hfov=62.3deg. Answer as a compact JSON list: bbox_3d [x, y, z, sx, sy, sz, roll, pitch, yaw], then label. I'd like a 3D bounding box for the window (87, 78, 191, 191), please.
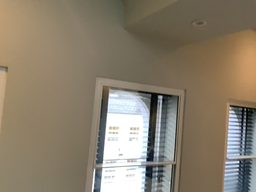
[{"bbox_3d":[0.110,0.530,1.580,0.820,1.220,0.050,7,-3,-29],"label":"window"}]
